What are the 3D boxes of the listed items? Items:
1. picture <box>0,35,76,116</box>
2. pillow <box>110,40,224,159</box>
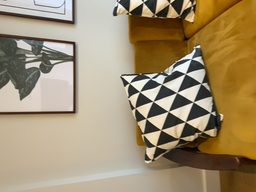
[{"bbox_3d":[-0.710,-0.130,1.380,0.040,0.720,0.510,163,107,-66],"label":"picture"},{"bbox_3d":[0.260,0.040,1.390,0.620,0.250,0.660,-6,64,28],"label":"pillow"}]
